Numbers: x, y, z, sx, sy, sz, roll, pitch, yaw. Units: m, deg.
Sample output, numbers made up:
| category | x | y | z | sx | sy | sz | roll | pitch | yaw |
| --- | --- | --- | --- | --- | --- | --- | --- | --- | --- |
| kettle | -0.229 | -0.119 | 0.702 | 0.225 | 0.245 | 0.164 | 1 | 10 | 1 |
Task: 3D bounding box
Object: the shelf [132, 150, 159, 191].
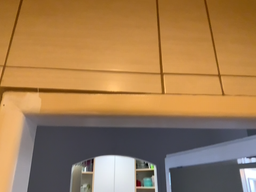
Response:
| category | x | y | z | sx | sy | sz | roll | pitch | yaw |
| --- | --- | --- | --- | --- | --- | --- | --- | --- | --- |
| shelf | 0.320 | 1.520 | 3.970 | 0.440 | 0.950 | 0.300 | 2 | -22 | -4 |
